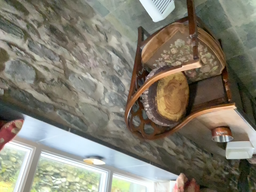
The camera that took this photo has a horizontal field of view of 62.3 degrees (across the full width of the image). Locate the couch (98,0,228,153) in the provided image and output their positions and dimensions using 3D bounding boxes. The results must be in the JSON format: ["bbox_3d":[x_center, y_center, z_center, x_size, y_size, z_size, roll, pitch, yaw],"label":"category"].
[{"bbox_3d":[0.240,-0.100,1.460,0.570,0.780,0.530,-20,141,37],"label":"couch"}]
